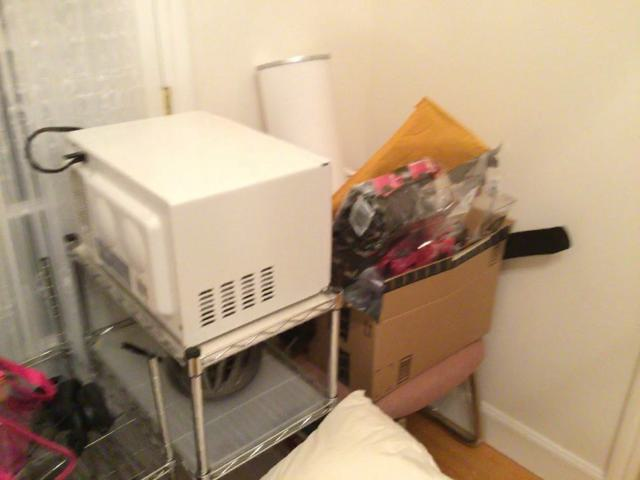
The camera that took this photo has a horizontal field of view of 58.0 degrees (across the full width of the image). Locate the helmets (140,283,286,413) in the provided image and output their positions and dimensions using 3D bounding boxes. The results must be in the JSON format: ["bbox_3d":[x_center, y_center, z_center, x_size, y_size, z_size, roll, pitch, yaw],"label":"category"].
[{"bbox_3d":[-0.240,0.230,1.300,0.210,0.140,0.240,-22,28,-39],"label":"helmets"}]
